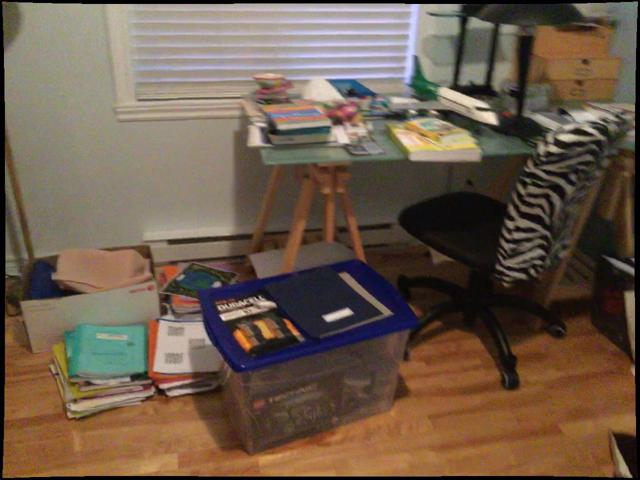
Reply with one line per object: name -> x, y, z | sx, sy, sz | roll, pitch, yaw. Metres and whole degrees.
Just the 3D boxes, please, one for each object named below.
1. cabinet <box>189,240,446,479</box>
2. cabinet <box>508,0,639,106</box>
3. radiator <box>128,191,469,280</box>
cabinet -> -0.030, 0.320, 1.760 | 0.600, 0.360, 0.490 | -11, 31, -21
cabinet -> 0.999, -0.771, 2.280 | 0.310, 0.380, 0.340 | -6, 29, -12
radiator -> -0.060, -0.030, 2.560 | 1.479, 0.230, 0.110 | -6, 29, -12
